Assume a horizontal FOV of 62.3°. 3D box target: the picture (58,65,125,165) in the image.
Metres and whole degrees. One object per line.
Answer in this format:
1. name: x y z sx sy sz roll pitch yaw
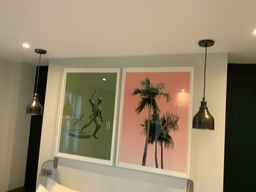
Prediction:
1. picture: -0.420 0.180 2.400 0.720 1.050 0.100 2 -5 21

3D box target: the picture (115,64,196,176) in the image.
1. picture: 0.260 0.200 2.120 0.750 1.040 0.050 2 -5 20
